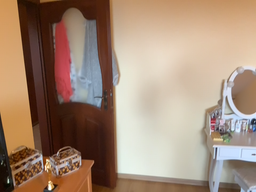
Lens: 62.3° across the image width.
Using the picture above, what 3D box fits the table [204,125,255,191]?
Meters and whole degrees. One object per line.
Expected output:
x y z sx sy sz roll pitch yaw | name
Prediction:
1.160 0.700 2.040 0.710 0.690 0.450 2 13 10 | table
